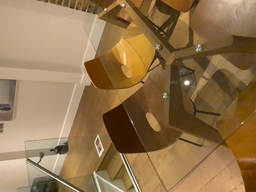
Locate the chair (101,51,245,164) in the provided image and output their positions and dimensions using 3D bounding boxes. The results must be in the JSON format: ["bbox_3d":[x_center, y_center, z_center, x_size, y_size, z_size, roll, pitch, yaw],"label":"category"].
[{"bbox_3d":[0.290,0.070,1.540,0.540,0.730,0.470,60,136,39],"label":"chair"}]

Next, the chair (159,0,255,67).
[{"bbox_3d":[0.620,-0.440,1.110,0.480,0.660,0.390,55,133,43],"label":"chair"}]

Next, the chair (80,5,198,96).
[{"bbox_3d":[0.070,-0.370,1.870,0.560,0.760,0.460,60,136,39],"label":"chair"}]
